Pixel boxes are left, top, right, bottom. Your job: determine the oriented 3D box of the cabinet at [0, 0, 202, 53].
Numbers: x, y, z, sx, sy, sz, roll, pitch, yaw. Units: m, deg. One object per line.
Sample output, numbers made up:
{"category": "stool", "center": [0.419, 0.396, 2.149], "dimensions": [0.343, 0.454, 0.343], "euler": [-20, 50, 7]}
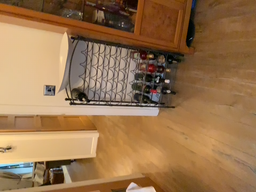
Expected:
{"category": "cabinet", "center": [-0.330, -0.850, 1.530], "dimensions": [0.400, 1.970, 0.780], "euler": [19, 104, 61]}
